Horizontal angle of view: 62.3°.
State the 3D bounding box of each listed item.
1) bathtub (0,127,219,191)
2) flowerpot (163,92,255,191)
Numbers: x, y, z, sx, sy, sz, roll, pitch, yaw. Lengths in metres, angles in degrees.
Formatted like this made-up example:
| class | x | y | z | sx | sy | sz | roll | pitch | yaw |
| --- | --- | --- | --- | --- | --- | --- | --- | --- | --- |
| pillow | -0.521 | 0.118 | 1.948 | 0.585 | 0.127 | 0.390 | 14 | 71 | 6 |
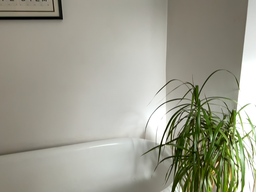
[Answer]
| class | x | y | z | sx | sy | sz | roll | pitch | yaw |
| --- | --- | --- | --- | --- | --- | --- | --- | --- | --- |
| bathtub | -0.470 | 0.720 | 1.220 | 1.710 | 0.590 | 0.750 | -6 | 16 | -17 |
| flowerpot | 0.410 | 0.530 | 1.160 | 0.290 | 1.020 | 0.360 | -7 | 16 | -18 |
